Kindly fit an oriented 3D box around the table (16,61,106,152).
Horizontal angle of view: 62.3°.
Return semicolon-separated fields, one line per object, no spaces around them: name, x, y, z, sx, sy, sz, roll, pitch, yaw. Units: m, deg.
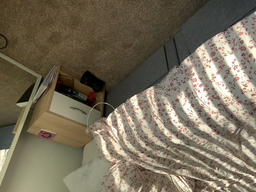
table;-0.460;0.100;1.530;0.410;0.390;0.420;28;132;-32

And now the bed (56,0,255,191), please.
bed;0.720;0.150;1.440;1.430;0.650;2.060;28;132;-32
